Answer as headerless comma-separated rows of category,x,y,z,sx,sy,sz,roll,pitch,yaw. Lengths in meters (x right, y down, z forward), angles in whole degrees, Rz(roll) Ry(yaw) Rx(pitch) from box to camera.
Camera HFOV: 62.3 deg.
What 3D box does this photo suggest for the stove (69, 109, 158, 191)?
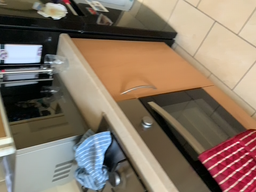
stove,-0.050,0.450,0.810,0.590,0.040,0.540,52,133,33
